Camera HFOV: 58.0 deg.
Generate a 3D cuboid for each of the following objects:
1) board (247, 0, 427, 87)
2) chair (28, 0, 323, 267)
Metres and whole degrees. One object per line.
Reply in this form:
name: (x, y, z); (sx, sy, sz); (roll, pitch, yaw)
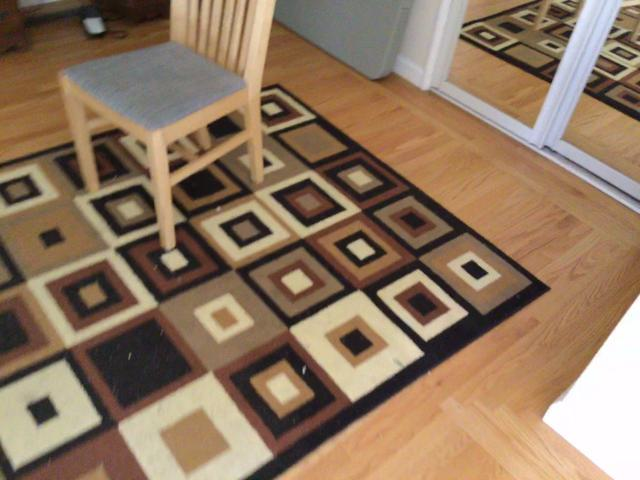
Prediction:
board: (0.060, -1.320, 2.720); (0.190, 0.770, 1.020); (-28, 55, -34)
chair: (-0.410, -0.530, 1.750); (0.500, 0.940, 0.630); (34, 48, 23)
